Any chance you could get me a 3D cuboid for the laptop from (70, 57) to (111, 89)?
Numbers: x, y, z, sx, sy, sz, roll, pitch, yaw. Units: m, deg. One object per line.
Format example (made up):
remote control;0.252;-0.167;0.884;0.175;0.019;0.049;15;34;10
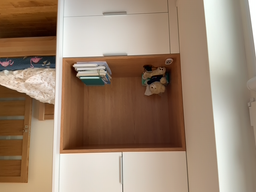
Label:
laptop;-0.280;-0.170;1.690;0.240;0.140;0.420;-1;171;1
